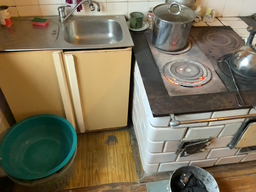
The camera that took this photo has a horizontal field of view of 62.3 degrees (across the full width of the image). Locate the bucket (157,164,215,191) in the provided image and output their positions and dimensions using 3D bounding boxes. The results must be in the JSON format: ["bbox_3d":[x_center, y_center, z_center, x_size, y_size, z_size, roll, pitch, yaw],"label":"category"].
[{"bbox_3d":[0.370,0.620,1.370,0.280,0.190,0.240,-7,46,-10],"label":"bucket"}]

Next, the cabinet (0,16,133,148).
[{"bbox_3d":[-0.450,-0.090,1.610,0.860,0.810,0.480,-6,45,-9],"label":"cabinet"}]

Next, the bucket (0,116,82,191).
[{"bbox_3d":[-0.590,0.400,1.440,0.490,0.360,0.350,-3,45,-6],"label":"bucket"}]
